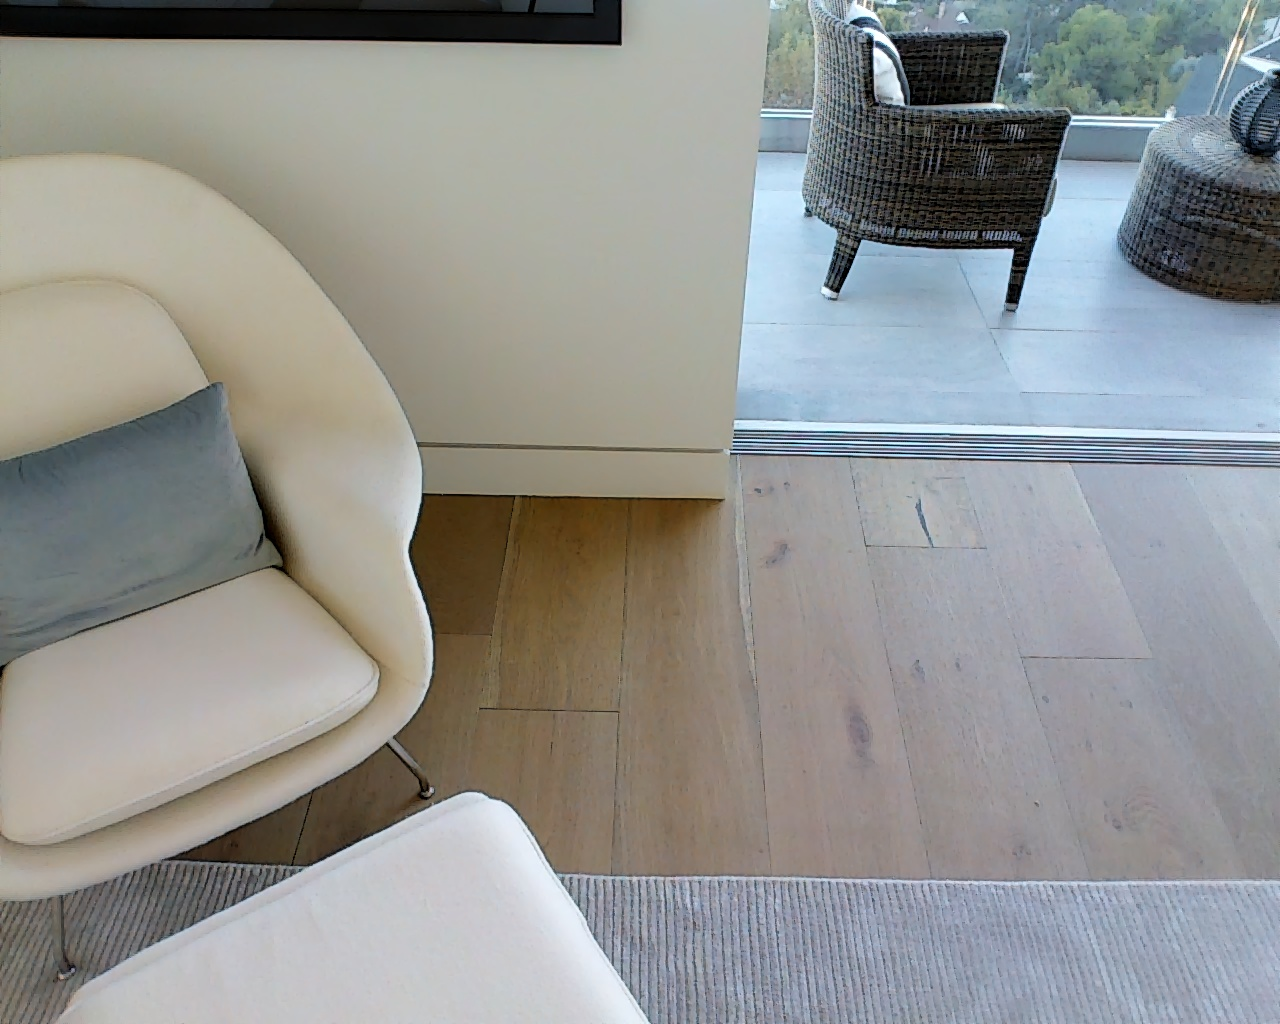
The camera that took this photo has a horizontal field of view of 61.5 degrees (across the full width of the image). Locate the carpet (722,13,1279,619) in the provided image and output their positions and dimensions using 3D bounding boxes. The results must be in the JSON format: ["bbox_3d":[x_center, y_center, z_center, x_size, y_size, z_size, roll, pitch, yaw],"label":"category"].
[{"bbox_3d":[1.680,-1.000,3.520,2.750,0.050,3.600,0,42,3],"label":"carpet"}]

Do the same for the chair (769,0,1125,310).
[{"bbox_3d":[0.810,-1.150,3.160,0.760,0.790,0.770,-1,42,2],"label":"chair"}]

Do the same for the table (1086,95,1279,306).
[{"bbox_3d":[1.840,-0.970,3.310,0.650,0.380,0.620,-1,42,2],"label":"table"}]
